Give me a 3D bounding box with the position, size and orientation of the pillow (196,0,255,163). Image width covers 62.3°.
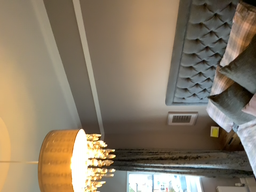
[{"bbox_3d":[1.090,-0.040,2.110,1.480,0.350,0.780,88,-177,-47],"label":"pillow"}]
